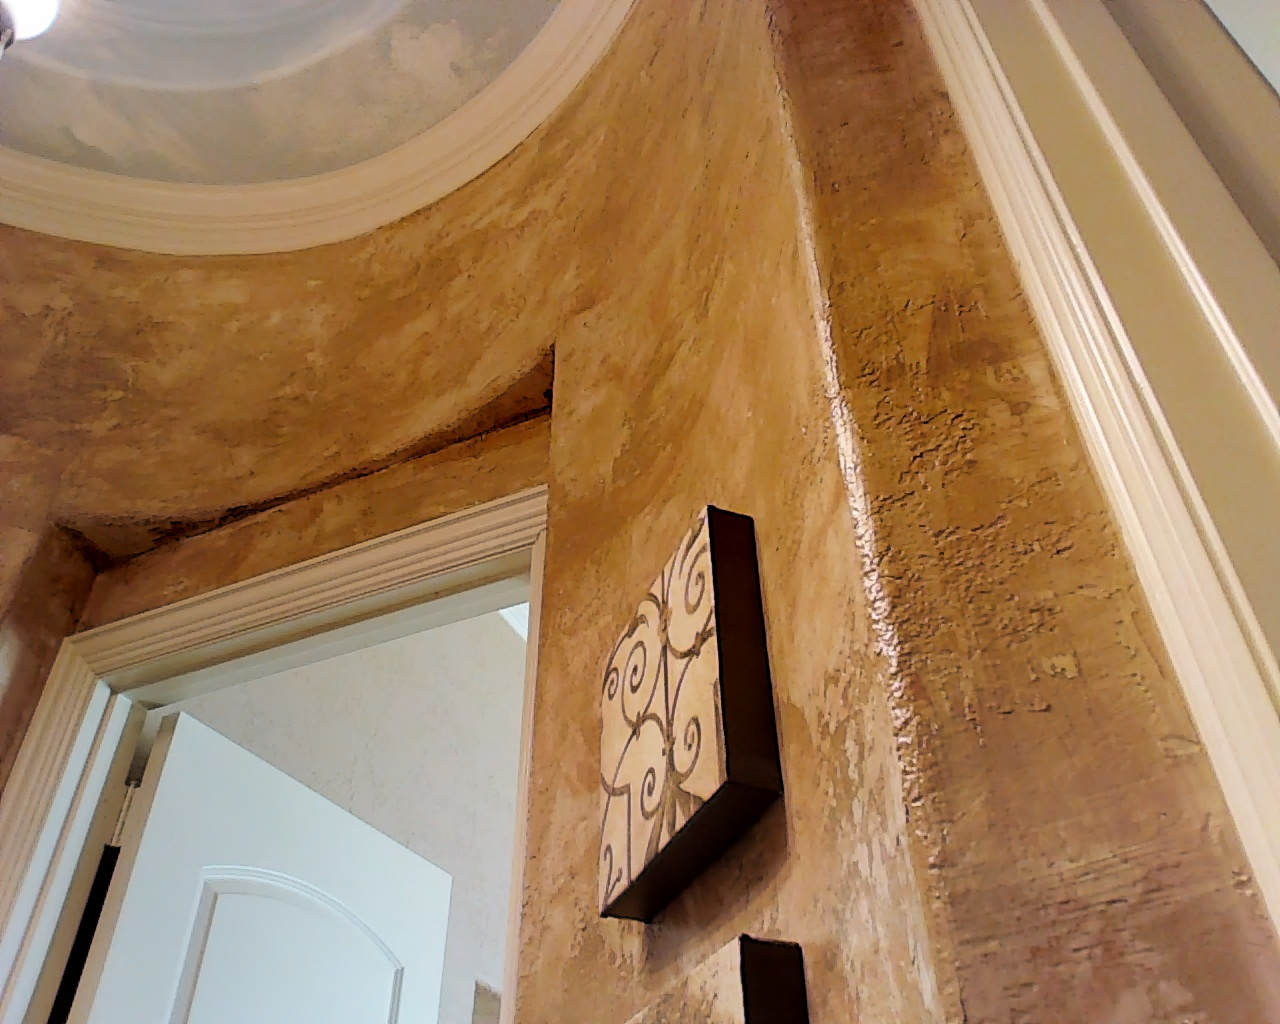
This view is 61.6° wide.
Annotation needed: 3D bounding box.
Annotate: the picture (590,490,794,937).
[{"bbox_3d":[0.030,0.160,0.840,0.050,0.250,0.250,14,-43,-15],"label":"picture"}]
